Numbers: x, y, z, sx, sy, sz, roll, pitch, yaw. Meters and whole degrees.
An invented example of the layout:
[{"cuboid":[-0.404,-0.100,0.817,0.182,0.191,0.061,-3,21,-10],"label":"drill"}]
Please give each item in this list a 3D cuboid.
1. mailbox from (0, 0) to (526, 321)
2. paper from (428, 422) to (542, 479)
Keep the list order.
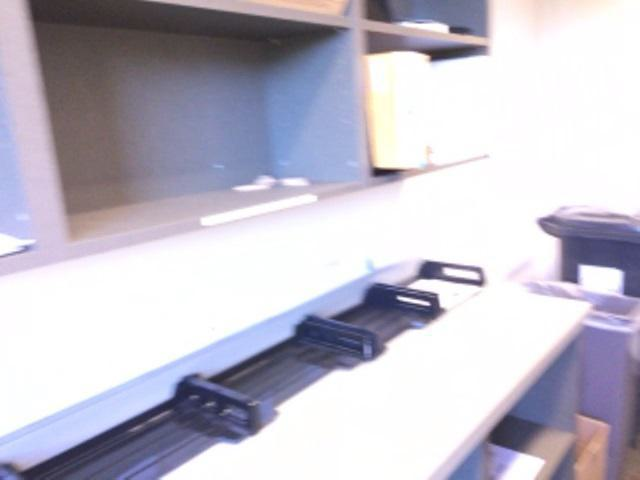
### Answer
[{"cuboid":[-0.460,-0.360,0.790,0.420,0.830,2.950,3,15,39],"label":"mailbox"},{"cuboid":[0.500,0.660,1.740,0.230,0.030,0.300,3,15,39],"label":"paper"}]
